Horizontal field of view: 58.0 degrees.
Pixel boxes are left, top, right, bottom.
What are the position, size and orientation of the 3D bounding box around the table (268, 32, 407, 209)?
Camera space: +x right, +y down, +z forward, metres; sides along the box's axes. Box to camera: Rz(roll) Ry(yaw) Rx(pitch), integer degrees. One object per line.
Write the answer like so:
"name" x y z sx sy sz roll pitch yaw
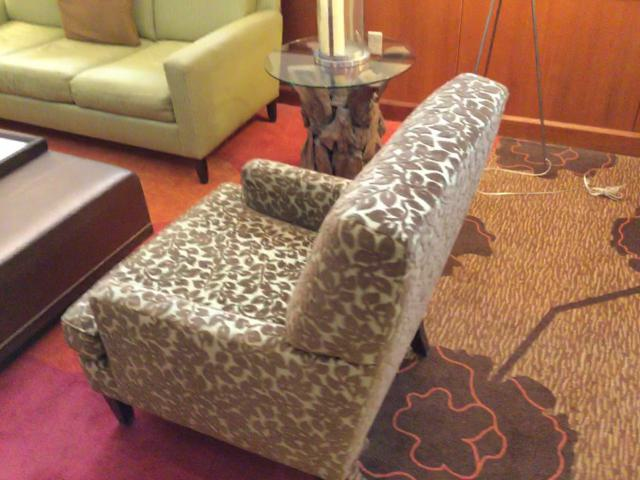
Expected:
"table" 0.080 -0.540 2.570 0.450 0.590 0.410 15 39 19
